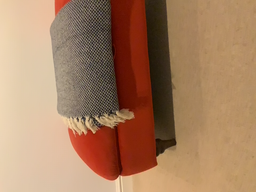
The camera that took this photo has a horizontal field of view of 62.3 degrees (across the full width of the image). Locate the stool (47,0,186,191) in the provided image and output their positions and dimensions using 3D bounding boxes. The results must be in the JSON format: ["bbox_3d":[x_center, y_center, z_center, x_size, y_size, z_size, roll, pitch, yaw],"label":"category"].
[{"bbox_3d":[-0.110,-0.150,1.050,0.600,0.420,0.930,-177,82,-65],"label":"stool"}]
